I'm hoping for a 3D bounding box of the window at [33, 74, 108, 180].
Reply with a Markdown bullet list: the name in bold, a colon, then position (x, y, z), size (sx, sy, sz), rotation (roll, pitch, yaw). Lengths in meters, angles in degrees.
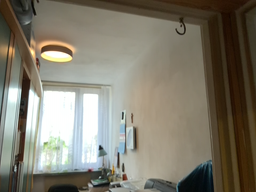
- **window**: position (-0.930, 0.500, 3.610), size (1.140, 1.640, 0.220), rotation (3, -12, -19)
